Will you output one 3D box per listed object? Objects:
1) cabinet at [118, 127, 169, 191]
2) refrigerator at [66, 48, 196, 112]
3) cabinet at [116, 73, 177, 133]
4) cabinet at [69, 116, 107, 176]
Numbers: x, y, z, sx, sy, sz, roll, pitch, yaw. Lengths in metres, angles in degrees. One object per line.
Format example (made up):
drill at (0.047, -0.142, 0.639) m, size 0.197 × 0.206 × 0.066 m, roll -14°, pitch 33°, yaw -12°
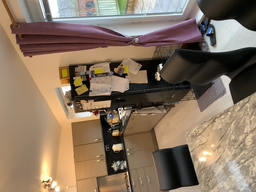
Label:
cabinet at (0.400, 1.990, 5.130) m, size 0.580 × 0.860 × 2.260 m, roll 109°, pitch 151°, yaw -66°
refrigerator at (0.030, -0.250, 3.300) m, size 0.570 × 1.800 × 0.620 m, roll 110°, pitch 151°, yaw -66°
cabinet at (0.290, 0.230, 4.620) m, size 1.670 × 0.860 × 0.640 m, roll 110°, pitch 151°, yaw -66°
cabinet at (-1.030, 1.250, 5.390) m, size 0.290 × 0.760 × 1.340 m, roll 109°, pitch 151°, yaw -66°
